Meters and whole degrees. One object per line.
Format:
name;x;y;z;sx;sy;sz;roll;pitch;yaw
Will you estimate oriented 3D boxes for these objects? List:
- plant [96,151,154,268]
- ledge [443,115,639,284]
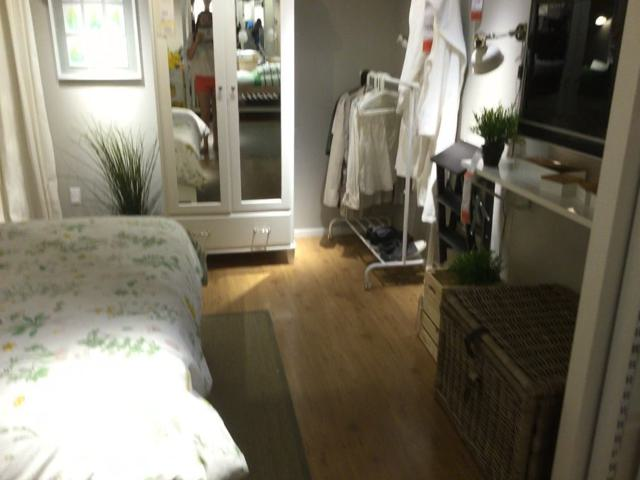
plant;-1.260;-0.210;3.780;0.290;0.680;0.380;-3;18;-14
ledge;0.850;-0.220;2.050;0.310;0.320;1.160;-3;18;-14
